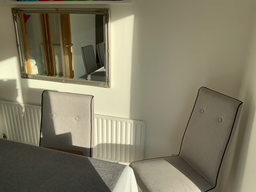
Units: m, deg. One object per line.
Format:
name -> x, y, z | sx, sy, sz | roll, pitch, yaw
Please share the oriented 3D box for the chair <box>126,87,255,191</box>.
chair -> 0.390, 0.510, 1.560 | 0.630, 0.990, 0.510 | -7, 22, -23
